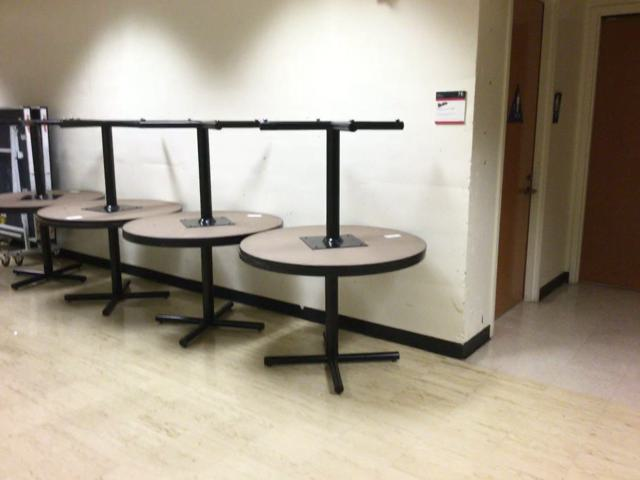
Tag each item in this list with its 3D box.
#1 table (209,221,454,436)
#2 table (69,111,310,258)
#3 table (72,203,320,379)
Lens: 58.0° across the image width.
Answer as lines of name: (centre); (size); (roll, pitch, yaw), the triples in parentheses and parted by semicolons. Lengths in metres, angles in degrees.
table: (0.100, 0.390, 3.270); (0.940, 0.770, 1.010); (7, 15, 37)
table: (-0.820, -0.420, 3.750); (1.100, 0.760, 0.990); (7, 15, 37)
table: (-0.810, 0.240, 3.930); (1.160, 0.770, 1.110); (7, 15, 37)
